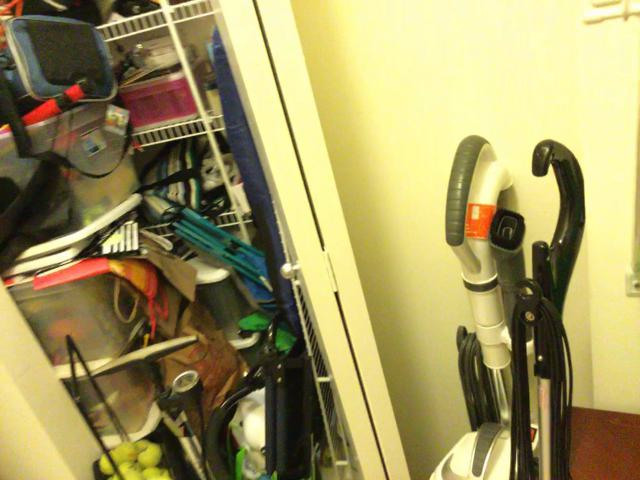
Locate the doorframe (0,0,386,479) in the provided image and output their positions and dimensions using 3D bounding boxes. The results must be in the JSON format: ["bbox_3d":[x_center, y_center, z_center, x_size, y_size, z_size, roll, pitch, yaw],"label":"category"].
[{"bbox_3d":[-0.480,-0.090,1.260,0.830,2.050,0.230,-10,27,14],"label":"doorframe"}]
